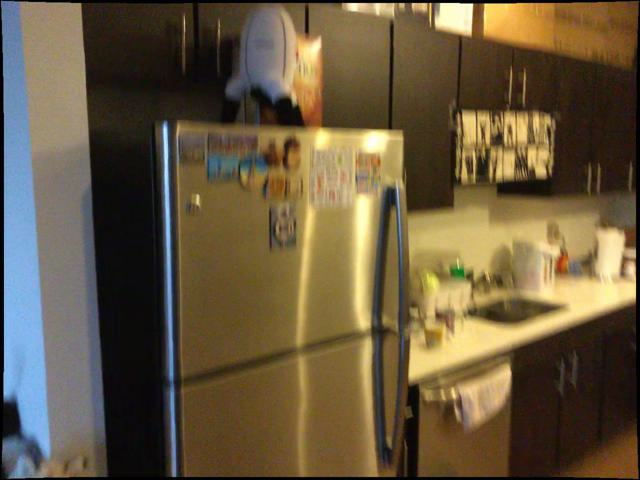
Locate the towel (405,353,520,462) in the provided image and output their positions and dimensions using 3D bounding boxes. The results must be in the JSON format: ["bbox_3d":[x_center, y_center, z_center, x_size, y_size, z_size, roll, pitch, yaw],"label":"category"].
[{"bbox_3d":[0.519,0.581,2.060,0.519,0.231,0.080,-7,15,-38],"label":"towel"}]

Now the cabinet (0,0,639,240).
[{"bbox_3d":[0.619,-0.591,2.640,3.565,0.792,0.619,-7,9,-38],"label":"cabinet"}]

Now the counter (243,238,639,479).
[{"bbox_3d":[1.476,0.712,2.510,3.066,0.822,1.868,-7,15,-38],"label":"counter"}]

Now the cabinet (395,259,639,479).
[{"bbox_3d":[1.227,0.662,2.970,1.718,0.822,0.580,-7,15,-38],"label":"cabinet"}]
